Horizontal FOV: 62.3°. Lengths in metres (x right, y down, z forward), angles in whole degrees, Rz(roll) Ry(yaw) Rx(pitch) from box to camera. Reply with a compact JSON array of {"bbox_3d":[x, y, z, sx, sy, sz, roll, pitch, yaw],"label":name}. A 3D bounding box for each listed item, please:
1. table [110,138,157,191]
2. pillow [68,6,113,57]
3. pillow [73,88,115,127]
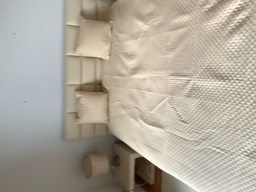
[{"bbox_3d":[0.050,0.810,2.540,0.500,0.330,0.420,16,105,58],"label":"table"},{"bbox_3d":[-0.390,-0.650,2.210,0.180,0.370,0.410,13,94,61],"label":"pillow"},{"bbox_3d":[-0.370,0.110,2.280,0.250,0.360,0.360,19,107,59],"label":"pillow"}]
